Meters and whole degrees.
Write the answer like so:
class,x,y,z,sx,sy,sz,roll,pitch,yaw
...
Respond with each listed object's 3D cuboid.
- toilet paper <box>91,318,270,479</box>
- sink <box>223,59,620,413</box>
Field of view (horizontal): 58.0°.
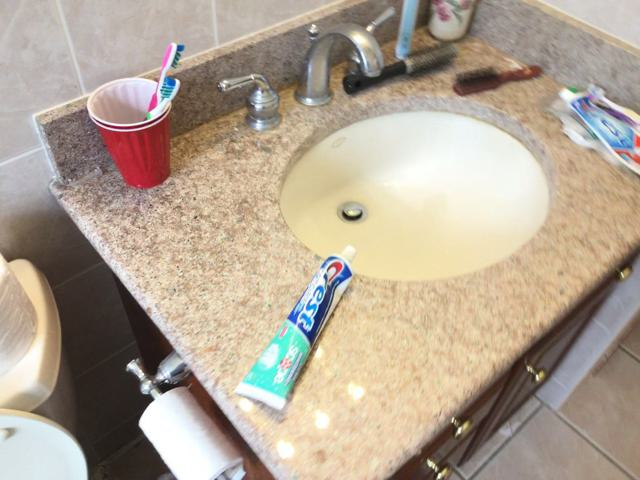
class,x,y,z,sx,sy,sz,roll,pitch,yaw
toilet paper,-0.170,0.250,0.740,0.110,0.200,0.200,-32,58,-27
sink,0.140,-0.040,0.870,0.420,0.190,0.360,-32,58,-27
